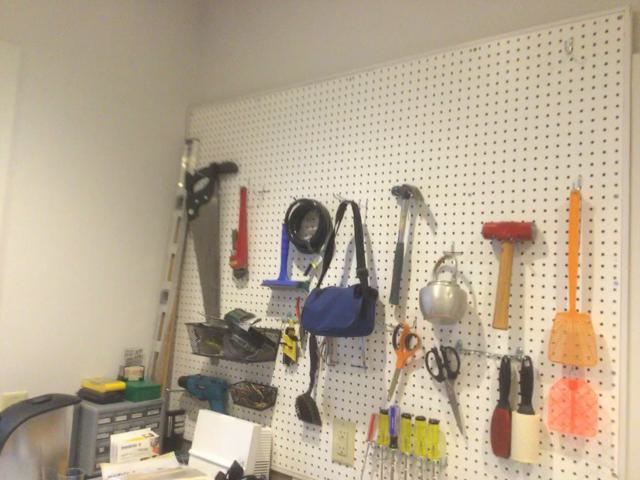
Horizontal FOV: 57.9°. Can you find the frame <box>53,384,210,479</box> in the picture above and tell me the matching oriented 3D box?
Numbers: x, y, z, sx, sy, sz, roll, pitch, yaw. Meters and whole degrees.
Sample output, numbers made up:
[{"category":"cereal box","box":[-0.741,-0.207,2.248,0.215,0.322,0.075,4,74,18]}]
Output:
[{"category":"frame","box":[-0.600,0.610,1.870,0.270,0.210,0.380,0,-6,38]}]

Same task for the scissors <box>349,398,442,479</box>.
[{"category":"scissors","box":[0.190,0.550,1.480,0.230,0.240,0.060,-1,-6,39]}]

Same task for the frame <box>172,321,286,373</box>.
[{"category":"frame","box":[-0.290,0.330,1.830,0.320,0.120,0.180,-1,-6,39]}]

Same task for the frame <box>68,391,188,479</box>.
[{"category":"frame","box":[-0.590,0.600,1.790,0.220,0.200,0.260,0,-6,38]}]

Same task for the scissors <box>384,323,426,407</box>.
[{"category":"scissors","box":[0.220,0.320,1.500,0.090,0.200,0.040,-1,-6,39]}]

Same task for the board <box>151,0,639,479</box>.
[{"category":"board","box":[0.080,0.110,1.620,1.510,1.340,0.120,-1,-6,39]}]
